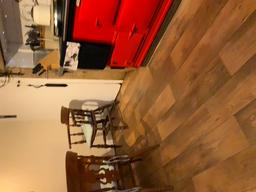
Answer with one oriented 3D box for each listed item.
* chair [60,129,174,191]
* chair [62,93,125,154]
[{"bbox_3d":[-0.170,0.750,2.080,0.660,0.880,0.550,119,144,-51],"label":"chair"},{"bbox_3d":[-0.550,0.380,3.160,0.660,0.770,0.520,-114,31,-44],"label":"chair"}]
